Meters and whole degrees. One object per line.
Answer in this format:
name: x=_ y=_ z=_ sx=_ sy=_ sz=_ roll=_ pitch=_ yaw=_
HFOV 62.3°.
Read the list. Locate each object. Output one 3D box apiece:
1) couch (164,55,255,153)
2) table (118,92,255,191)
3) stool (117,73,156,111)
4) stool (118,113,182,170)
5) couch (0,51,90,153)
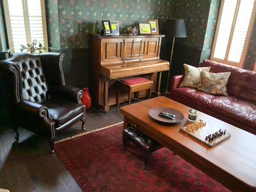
couch: x=1.720 y=0.080 z=3.150 sx=0.900 sy=0.880 sz=2.230 roll=-13 pitch=28 yaw=-36
table: x=0.680 y=0.520 z=2.360 sx=0.800 sy=0.530 sz=1.570 roll=-13 pitch=28 yaw=-36
stool: x=0.150 y=-0.090 z=3.840 sx=0.580 sy=0.510 sz=0.350 roll=-13 pitch=27 yaw=-34
stool: x=0.250 y=0.520 z=2.590 sx=0.530 sy=0.320 sz=0.530 roll=-13 pitch=28 yaw=-36
couch: x=-1.070 y=0.010 z=2.780 sx=0.830 sy=0.980 sz=0.740 roll=15 pitch=25 yaw=25
